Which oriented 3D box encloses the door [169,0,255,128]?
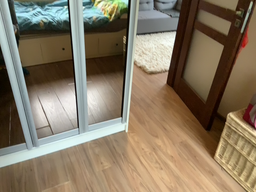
[{"bbox_3d":[0.800,-0.810,1.890,0.120,2.080,0.920,-4,34,-14],"label":"door"}]
